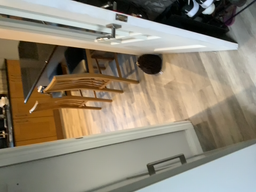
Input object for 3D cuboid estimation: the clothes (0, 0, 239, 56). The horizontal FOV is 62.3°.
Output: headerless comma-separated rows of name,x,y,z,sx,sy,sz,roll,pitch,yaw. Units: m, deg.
clothes,-0.260,-0.370,1.160,0.810,1.950,0.130,12,102,51
